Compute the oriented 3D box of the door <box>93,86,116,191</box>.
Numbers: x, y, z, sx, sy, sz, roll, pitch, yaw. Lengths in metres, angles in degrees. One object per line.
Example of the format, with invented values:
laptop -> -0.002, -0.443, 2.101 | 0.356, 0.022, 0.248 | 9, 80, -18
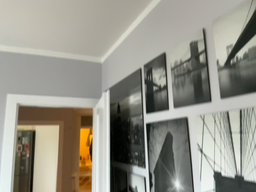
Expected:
door -> -0.210, 1.000, 1.650 | 0.100, 2.000, 0.910 | 1, -11, -11
